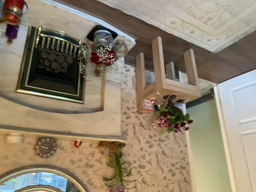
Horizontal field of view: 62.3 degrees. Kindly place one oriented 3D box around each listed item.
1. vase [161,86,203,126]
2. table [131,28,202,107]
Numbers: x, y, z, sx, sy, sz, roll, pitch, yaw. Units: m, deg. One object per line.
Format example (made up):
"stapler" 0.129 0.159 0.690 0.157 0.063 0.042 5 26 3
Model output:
"vase" 0.510 0.110 2.040 0.240 0.280 0.280 12 155 -32
"table" 0.380 -0.260 2.240 0.530 0.590 0.440 12 155 -30
